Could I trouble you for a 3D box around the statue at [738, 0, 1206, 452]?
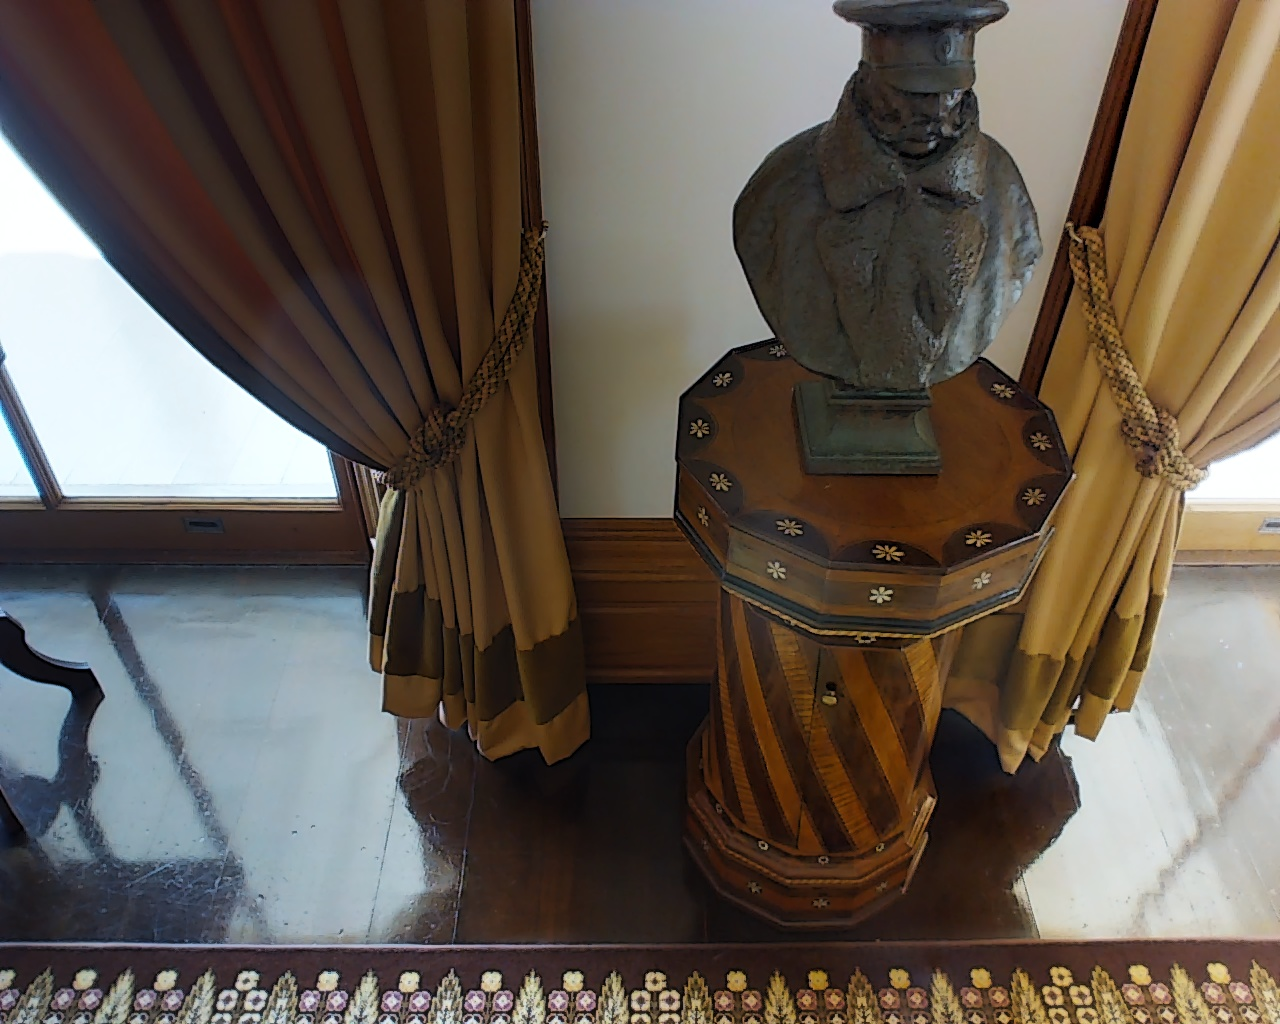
[{"bbox_3d":[0.290,-0.300,1.100,0.340,0.440,0.210,0,42,0],"label":"statue"}]
